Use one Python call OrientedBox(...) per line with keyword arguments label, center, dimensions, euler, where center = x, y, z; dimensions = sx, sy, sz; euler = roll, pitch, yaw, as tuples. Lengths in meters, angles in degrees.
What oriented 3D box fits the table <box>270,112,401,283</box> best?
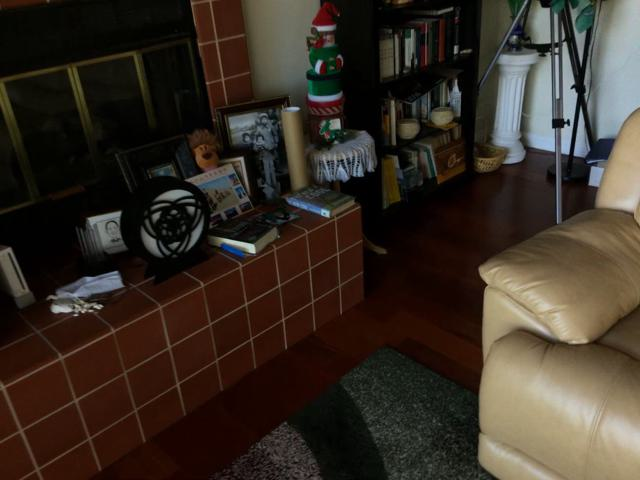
OrientedBox(label="table", center=(0.090, -0.220, 2.760), dimensions=(0.420, 0.640, 0.400), euler=(-28, 35, -37))
